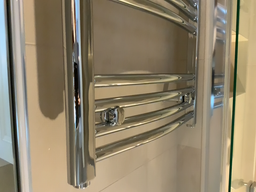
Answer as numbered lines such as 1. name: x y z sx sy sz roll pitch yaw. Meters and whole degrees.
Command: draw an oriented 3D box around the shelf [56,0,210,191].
1. shelf: 0.070 -0.620 0.450 0.060 1.500 0.500 5 -172 40
